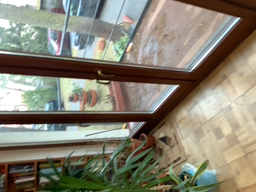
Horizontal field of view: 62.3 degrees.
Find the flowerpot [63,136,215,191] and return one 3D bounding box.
[{"bbox_3d":[-0.020,1.040,2.340,1.360,1.140,0.630,123,141,-48],"label":"flowerpot"}]

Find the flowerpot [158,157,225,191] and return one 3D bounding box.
[{"bbox_3d":[0.560,0.780,1.900,0.340,0.380,0.340,126,139,-51],"label":"flowerpot"}]
